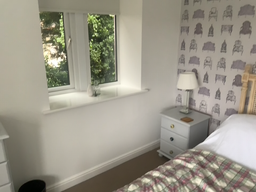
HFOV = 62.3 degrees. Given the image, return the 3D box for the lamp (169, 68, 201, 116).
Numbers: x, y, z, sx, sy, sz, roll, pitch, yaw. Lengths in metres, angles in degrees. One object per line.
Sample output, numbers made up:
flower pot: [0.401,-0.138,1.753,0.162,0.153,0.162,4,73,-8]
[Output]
lamp: [0.670,-0.060,2.490,0.260,0.500,0.210,-13,21,-37]

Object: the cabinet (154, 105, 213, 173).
cabinet: [0.660,0.490,2.590,0.470,0.580,0.460,-13,21,-37]
